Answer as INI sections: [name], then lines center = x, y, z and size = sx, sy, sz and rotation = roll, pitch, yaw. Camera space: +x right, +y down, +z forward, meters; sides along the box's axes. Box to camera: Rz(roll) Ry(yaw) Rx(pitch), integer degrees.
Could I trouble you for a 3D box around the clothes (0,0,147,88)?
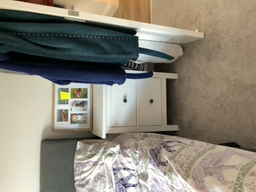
[clothes]
center = -0.590, -0.290, 1.340
size = 0.640, 1.250, 0.320
rotation = 163, 107, -66
